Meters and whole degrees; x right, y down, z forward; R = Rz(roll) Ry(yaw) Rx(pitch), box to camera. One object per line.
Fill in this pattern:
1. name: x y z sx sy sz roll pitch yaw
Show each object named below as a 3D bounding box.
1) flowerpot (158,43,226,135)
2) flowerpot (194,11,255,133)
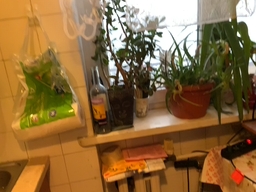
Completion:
1. flowerpot: 0.290 -0.050 1.000 0.210 0.360 0.250 -8 15 -5
2. flowerpot: 0.540 -0.140 1.050 0.270 0.490 0.370 -8 15 -5
